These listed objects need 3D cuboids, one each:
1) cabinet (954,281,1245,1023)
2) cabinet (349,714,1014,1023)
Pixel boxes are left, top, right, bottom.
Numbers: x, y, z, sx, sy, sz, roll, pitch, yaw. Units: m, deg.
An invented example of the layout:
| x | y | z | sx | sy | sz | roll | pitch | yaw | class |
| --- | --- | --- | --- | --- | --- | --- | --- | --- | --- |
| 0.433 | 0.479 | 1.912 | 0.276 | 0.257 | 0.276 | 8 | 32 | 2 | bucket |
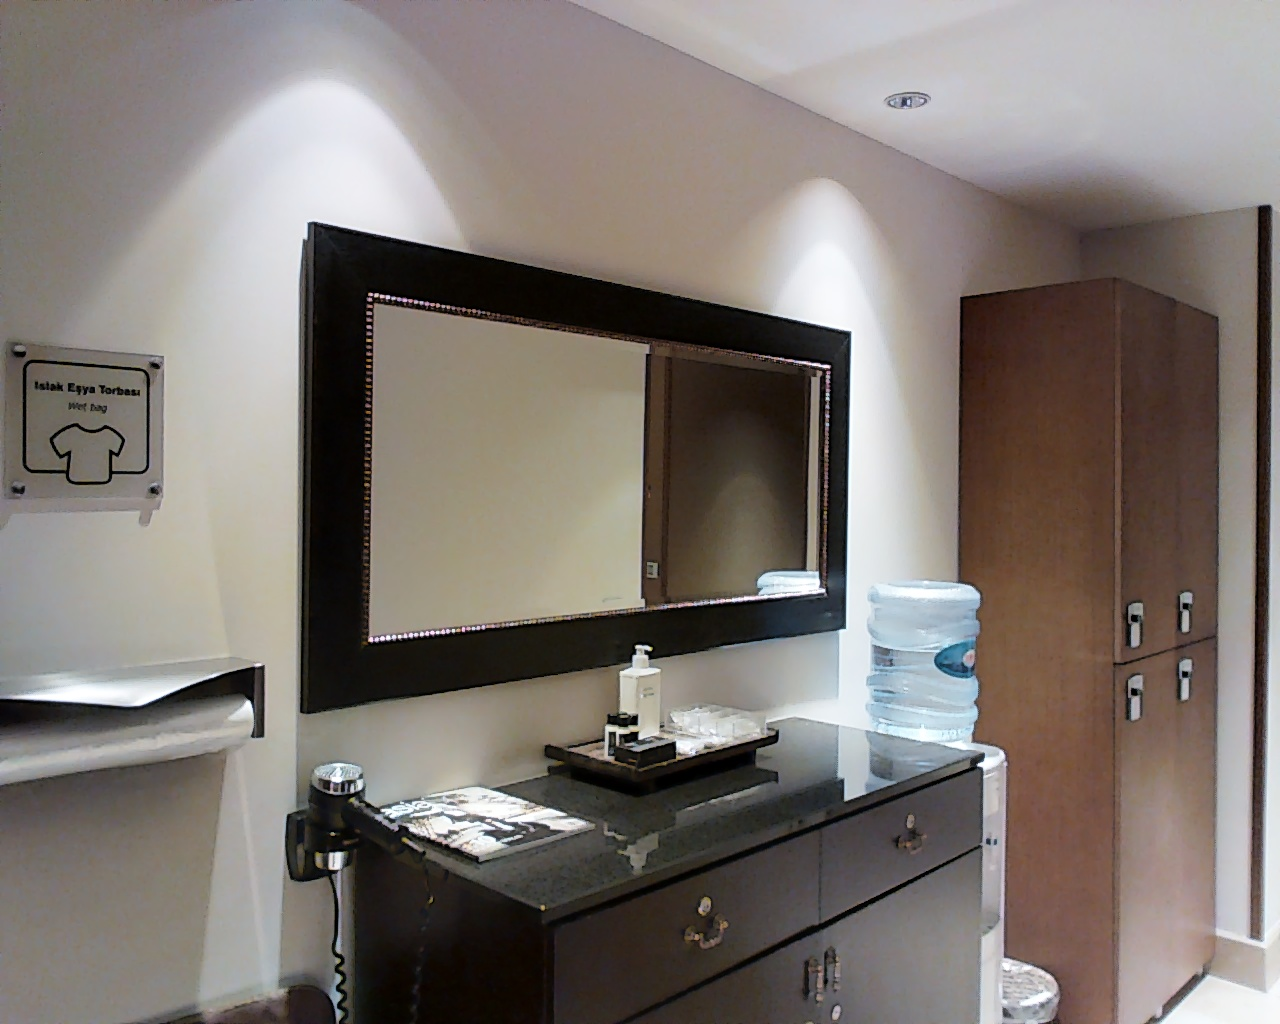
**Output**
| x | y | z | sx | sy | sz | roll | pitch | yaw | class |
| --- | --- | --- | --- | --- | --- | --- | --- | --- | --- |
| 1.450 | 0.480 | 3.350 | 0.520 | 2.180 | 0.920 | 1 | 0 | 44 | cabinet |
| 0.160 | 1.040 | 1.990 | 0.530 | 1.090 | 1.260 | 1 | 0 | 43 | cabinet |
